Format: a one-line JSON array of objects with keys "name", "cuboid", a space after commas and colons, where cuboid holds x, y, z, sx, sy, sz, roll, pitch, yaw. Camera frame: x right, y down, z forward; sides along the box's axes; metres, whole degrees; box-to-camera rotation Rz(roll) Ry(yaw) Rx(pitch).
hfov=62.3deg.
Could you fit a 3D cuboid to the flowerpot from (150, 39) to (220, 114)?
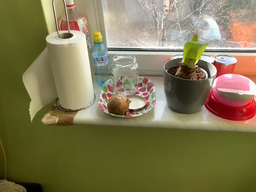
[{"name": "flowerpot", "cuboid": [0.170, -0.070, 0.700, 0.180, 0.170, 0.180, 3, 35, 6]}]
